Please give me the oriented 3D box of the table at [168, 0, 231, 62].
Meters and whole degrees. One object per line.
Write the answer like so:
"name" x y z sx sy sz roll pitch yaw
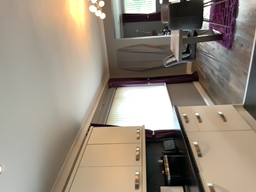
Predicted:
"table" 1.090 -1.700 3.400 1.030 0.750 2.030 -83 -10 -63
